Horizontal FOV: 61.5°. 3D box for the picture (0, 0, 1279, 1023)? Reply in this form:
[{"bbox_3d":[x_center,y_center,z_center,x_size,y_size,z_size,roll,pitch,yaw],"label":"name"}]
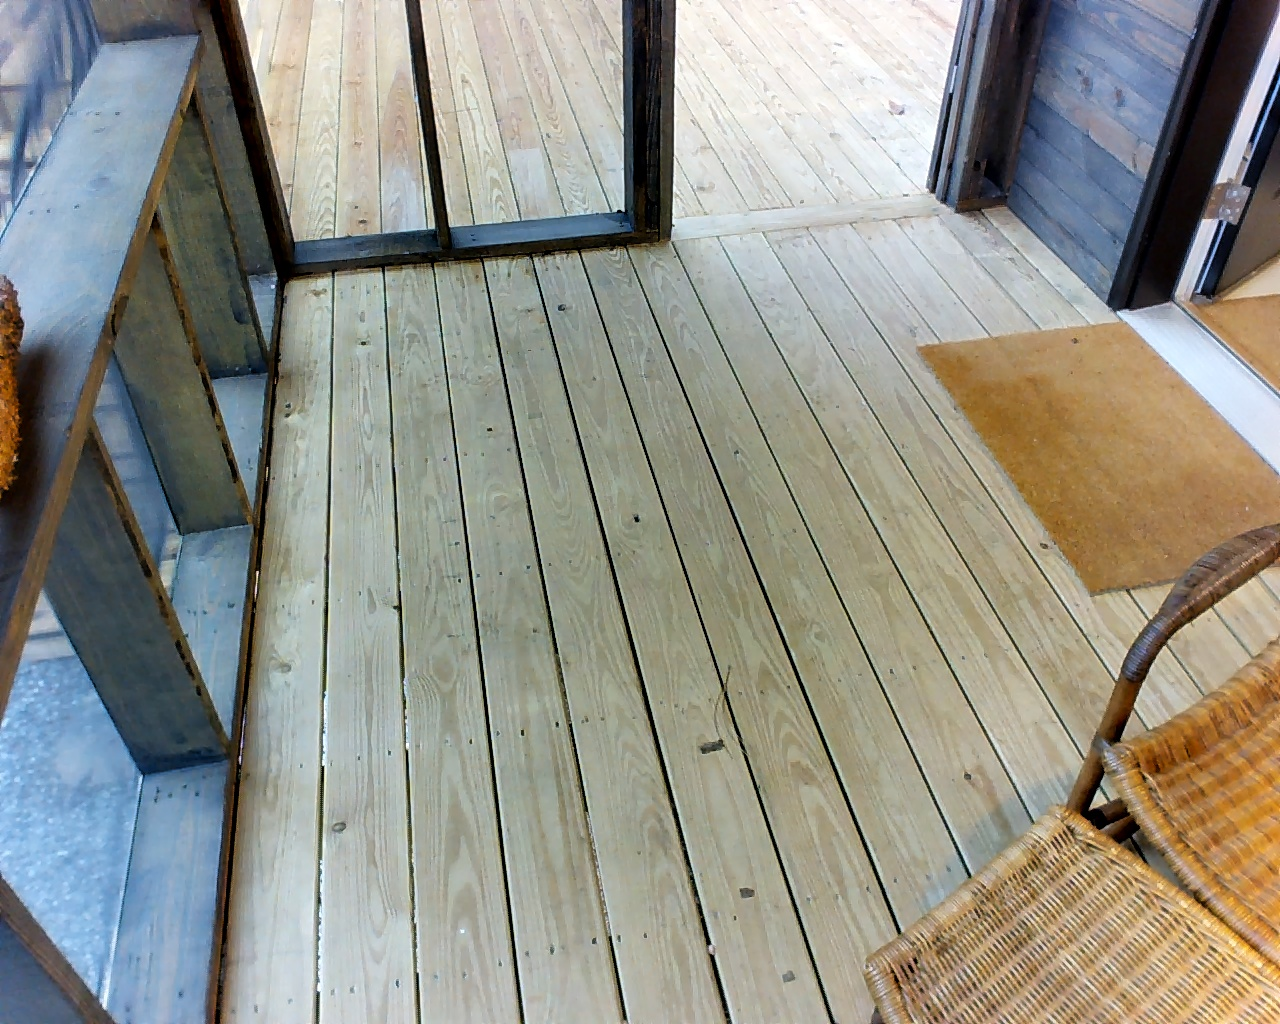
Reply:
[{"bbox_3d":[0.260,-1.200,1.130,3.420,2.420,3.160,-8,-48,-8],"label":"picture"}]
